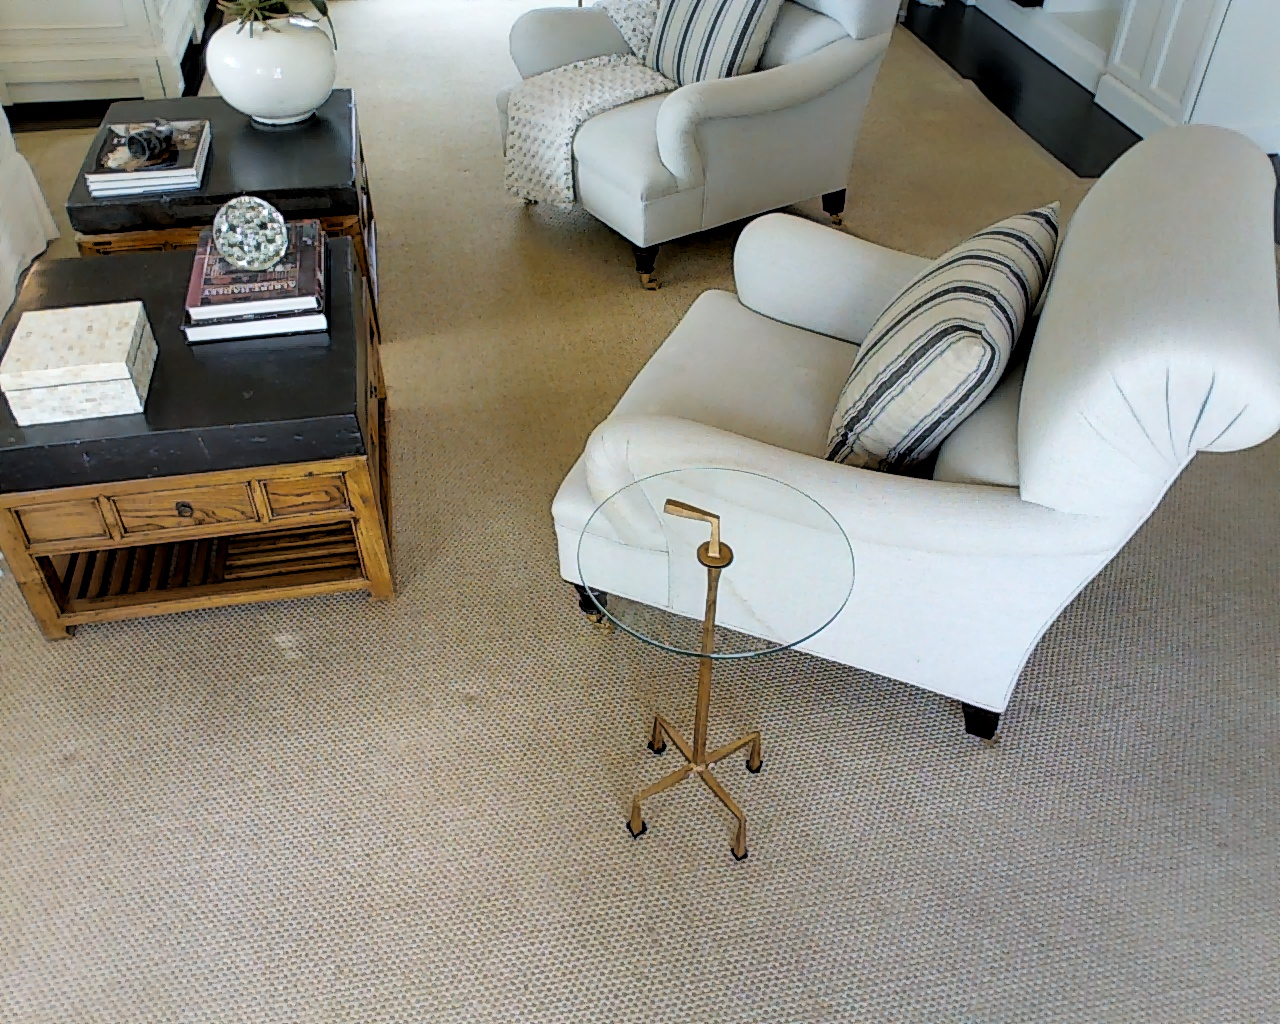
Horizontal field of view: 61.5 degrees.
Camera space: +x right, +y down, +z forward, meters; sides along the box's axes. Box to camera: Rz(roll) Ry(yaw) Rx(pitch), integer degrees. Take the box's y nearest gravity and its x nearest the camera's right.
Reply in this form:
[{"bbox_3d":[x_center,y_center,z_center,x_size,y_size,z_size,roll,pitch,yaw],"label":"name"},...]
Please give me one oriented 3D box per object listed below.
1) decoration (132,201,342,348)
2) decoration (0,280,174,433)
[{"bbox_3d":[-0.780,-0.480,2.130,0.350,0.090,0.370,-7,42,-8],"label":"decoration"},{"bbox_3d":[-0.990,-0.280,1.900,0.250,0.130,0.250,-7,42,-8],"label":"decoration"}]
